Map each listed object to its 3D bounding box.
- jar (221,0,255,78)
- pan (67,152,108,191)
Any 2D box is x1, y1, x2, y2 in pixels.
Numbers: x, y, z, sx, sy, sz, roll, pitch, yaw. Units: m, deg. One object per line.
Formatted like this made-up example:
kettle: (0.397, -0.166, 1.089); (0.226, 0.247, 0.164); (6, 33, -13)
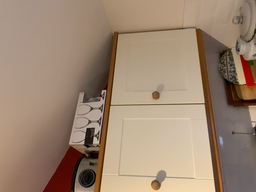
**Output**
jar: (0.820, -0.380, 1.350); (0.520, 0.280, 0.280); (71, -161, -61)
pan: (-0.230, 0.500, 1.250); (0.260, 0.140, 0.280); (70, -159, -63)
